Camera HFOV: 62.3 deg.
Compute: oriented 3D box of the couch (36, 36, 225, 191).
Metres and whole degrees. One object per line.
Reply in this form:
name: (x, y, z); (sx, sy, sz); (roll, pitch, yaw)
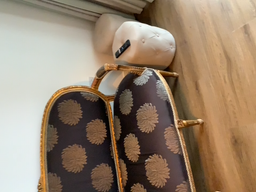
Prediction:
couch: (0.000, 0.540, 1.540); (0.800, 1.010, 1.530); (-27, 68, 50)
